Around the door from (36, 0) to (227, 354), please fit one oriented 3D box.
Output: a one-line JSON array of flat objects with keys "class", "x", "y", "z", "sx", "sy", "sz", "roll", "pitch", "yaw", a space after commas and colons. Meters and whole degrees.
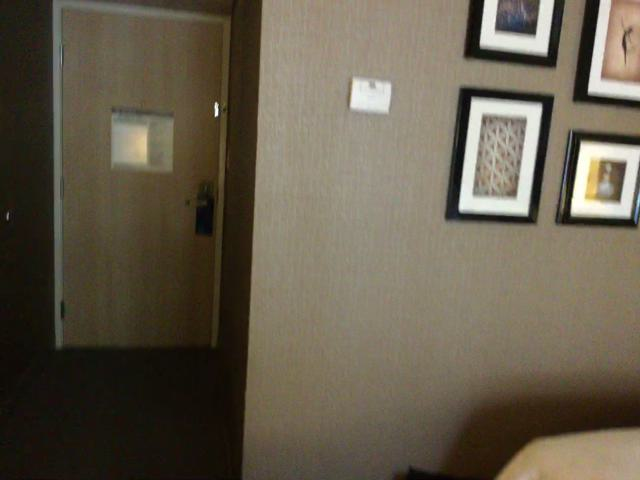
[{"class": "door", "x": -1.110, "y": -0.350, "z": 3.430, "sx": 1.030, "sy": 2.070, "sz": 0.150, "roll": 2, "pitch": 7, "yaw": -9}]
